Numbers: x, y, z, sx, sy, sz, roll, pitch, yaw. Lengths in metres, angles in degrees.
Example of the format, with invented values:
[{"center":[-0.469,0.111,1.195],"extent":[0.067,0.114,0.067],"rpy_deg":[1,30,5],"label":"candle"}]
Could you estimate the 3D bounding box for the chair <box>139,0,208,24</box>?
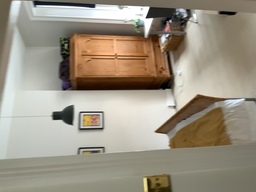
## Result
[{"center":[0.650,-1.420,3.170],"extent":[0.400,0.860,0.460],"rpy_deg":[110,157,-64],"label":"chair"}]
